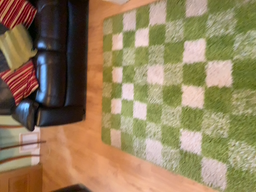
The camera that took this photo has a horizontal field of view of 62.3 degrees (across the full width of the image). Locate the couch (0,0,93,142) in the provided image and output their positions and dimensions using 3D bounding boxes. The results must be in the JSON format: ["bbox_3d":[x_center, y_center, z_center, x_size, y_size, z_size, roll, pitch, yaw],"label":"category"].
[{"bbox_3d":[-1.160,-0.520,2.340,1.240,0.960,1.670,9,97,47],"label":"couch"}]
